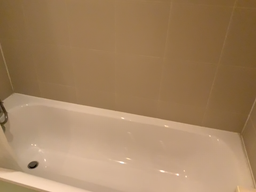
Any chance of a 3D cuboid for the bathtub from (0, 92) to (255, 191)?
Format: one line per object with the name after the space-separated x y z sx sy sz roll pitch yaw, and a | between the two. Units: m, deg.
-0.180 0.520 1.390 1.690 0.580 0.680 9 33 10 | bathtub
